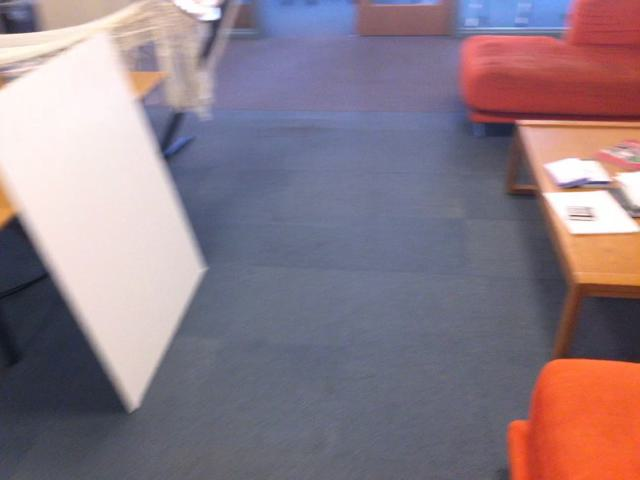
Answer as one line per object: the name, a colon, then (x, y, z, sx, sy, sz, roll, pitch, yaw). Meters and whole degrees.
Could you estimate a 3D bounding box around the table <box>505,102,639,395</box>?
table: (1.180, -0.070, 2.200, 0.760, 0.420, 1.340, 2, 35, 10)

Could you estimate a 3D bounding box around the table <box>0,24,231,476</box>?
table: (-1.450, -0.110, 2.090, 1.810, 0.890, 1.330, 2, 35, 10)

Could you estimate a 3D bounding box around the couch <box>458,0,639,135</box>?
couch: (1.580, -1.090, 3.240, 1.520, 0.670, 0.940, 2, 35, 10)
